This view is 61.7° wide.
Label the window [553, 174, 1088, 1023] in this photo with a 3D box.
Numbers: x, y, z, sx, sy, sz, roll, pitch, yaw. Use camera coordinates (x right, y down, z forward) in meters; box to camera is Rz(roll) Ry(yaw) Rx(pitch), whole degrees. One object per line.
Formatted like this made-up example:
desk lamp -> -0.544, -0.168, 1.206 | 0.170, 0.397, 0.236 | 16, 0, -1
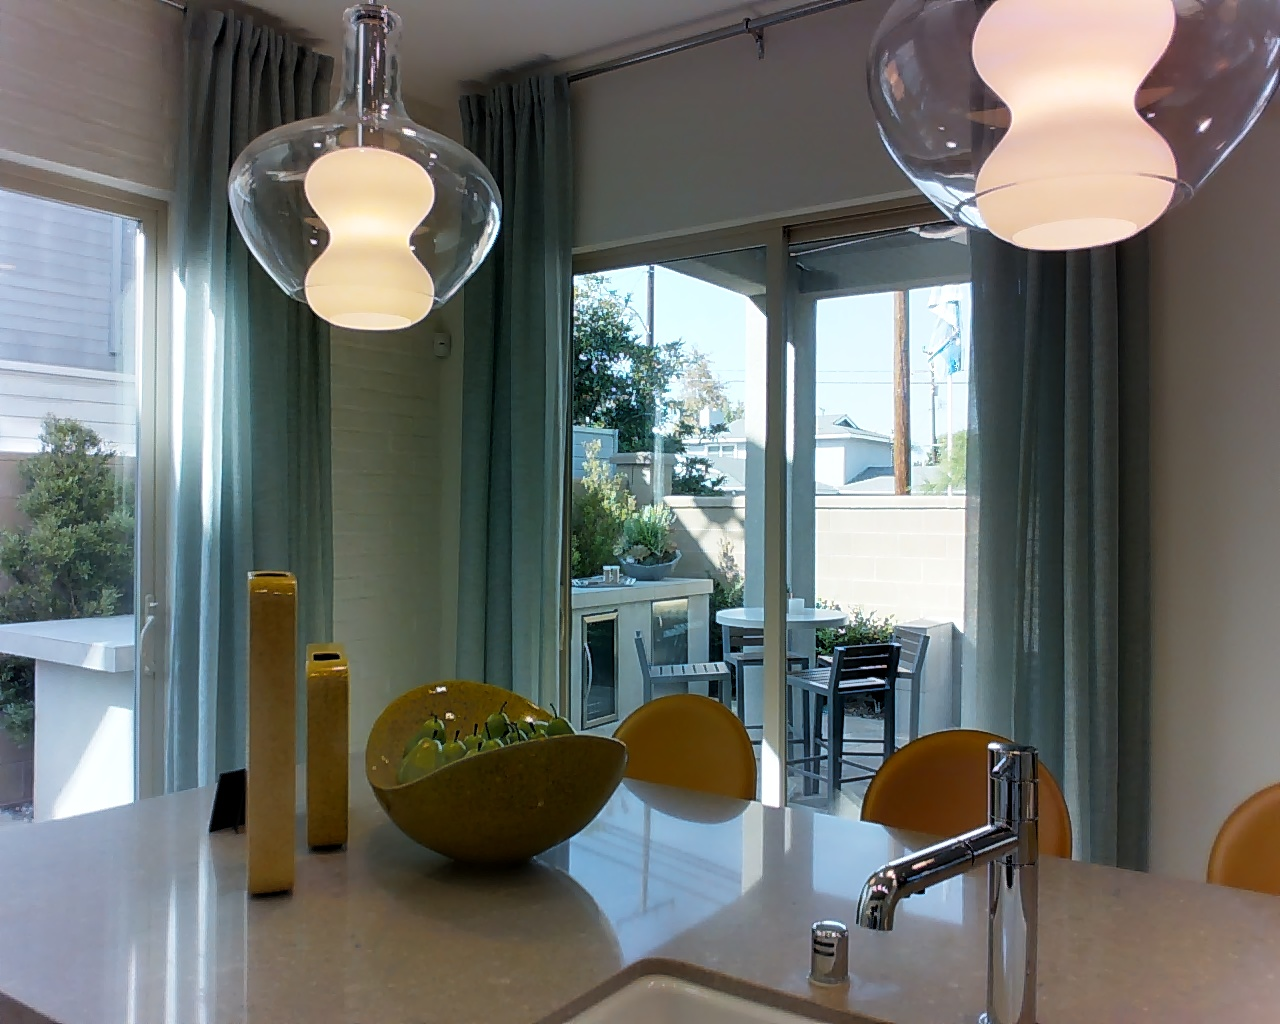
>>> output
window -> 0.500, 0.250, 3.590 | 1.789, 2.401, 0.260 | 1, 1, 35
